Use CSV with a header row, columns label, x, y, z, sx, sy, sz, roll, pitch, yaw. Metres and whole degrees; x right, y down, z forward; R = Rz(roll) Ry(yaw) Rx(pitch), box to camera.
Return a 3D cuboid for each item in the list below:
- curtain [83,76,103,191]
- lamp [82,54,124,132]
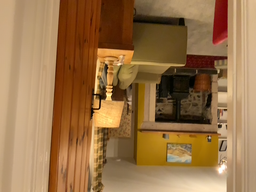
label,x,y,z,sx,sy,sz,roll,pitch,yaw
curtain,-0.410,0.540,2.530,0.120,1.500,0.450,2,176,-2
lamp,-0.230,-0.020,2.080,0.360,0.710,0.280,2,176,-2
